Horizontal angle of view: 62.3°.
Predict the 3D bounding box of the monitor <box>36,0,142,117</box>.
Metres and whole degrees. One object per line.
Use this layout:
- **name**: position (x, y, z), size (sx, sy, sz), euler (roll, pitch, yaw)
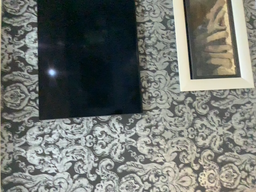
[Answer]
- **monitor**: position (-0.290, -0.490, 1.550), size (0.080, 0.700, 1.240), euler (144, 123, -79)
